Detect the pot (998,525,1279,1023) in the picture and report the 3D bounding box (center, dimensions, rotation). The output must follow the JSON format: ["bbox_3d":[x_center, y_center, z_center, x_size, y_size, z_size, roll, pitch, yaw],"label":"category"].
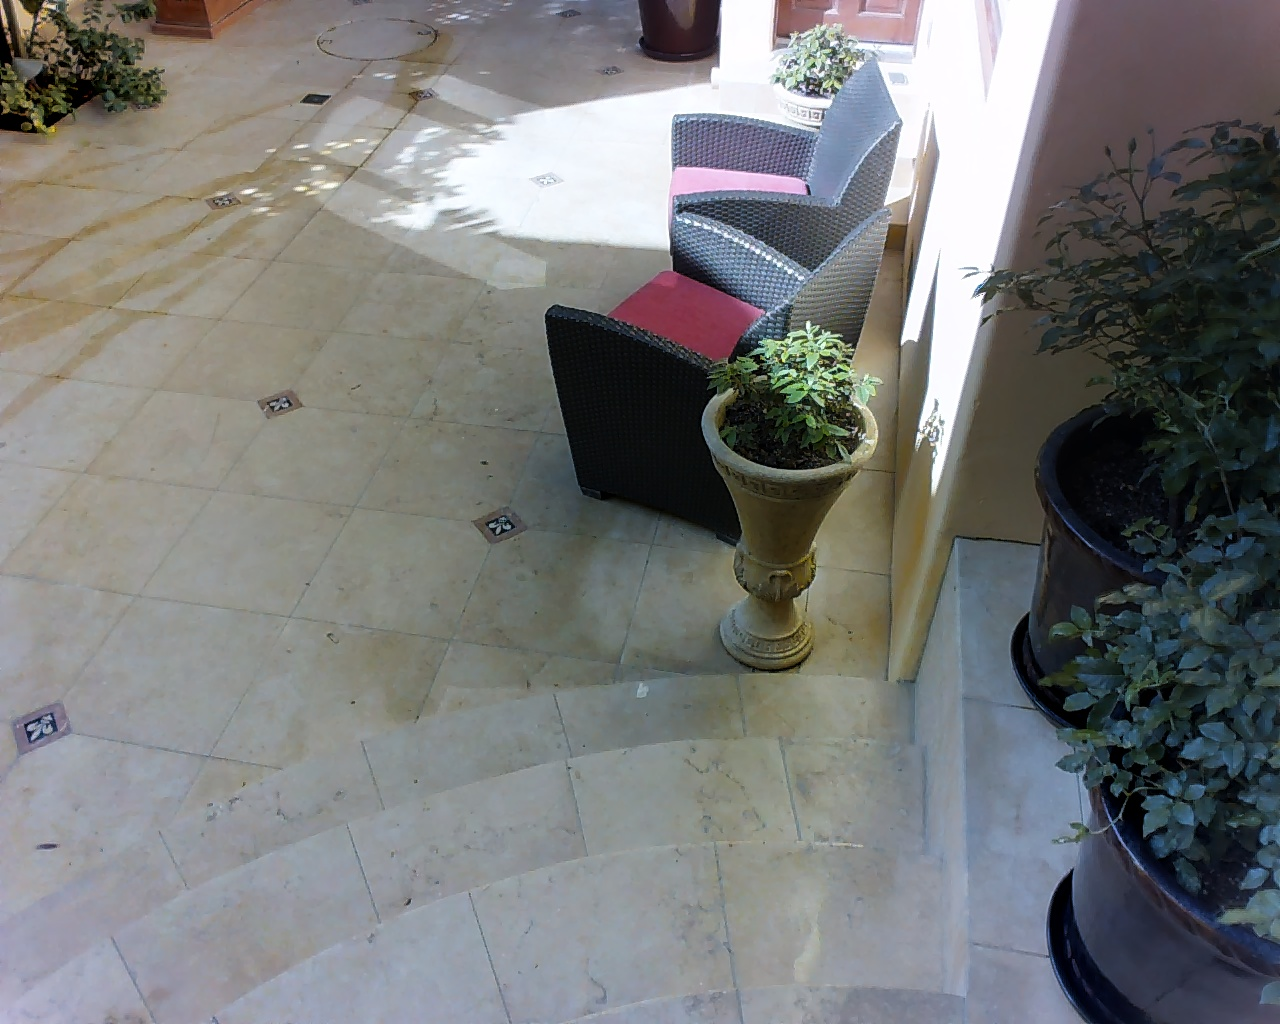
[{"bbox_3d":[0.690,0.430,1.360,0.290,0.730,0.380,8,43,9],"label":"pot"}]

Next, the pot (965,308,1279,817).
[{"bbox_3d":[0.860,0.080,1.780,0.370,0.600,0.460,24,48,24],"label":"pot"}]
